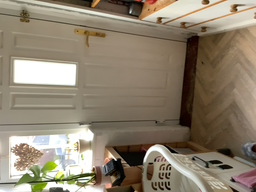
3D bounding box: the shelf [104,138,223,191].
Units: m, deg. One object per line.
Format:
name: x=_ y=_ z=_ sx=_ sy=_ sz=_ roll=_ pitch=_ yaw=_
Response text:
shelf: x=0.290 y=0.600 z=1.800 sx=0.460 sy=0.870 sz=0.320 roll=-165 pitch=78 yaw=-65
